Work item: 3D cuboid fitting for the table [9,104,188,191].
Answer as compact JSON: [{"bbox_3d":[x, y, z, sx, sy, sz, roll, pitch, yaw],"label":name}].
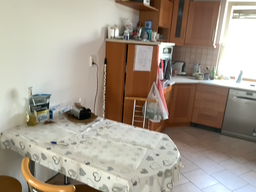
[{"bbox_3d":[-0.240,0.630,1.750,1.200,0.770,0.690,11,17,25],"label":"table"}]
